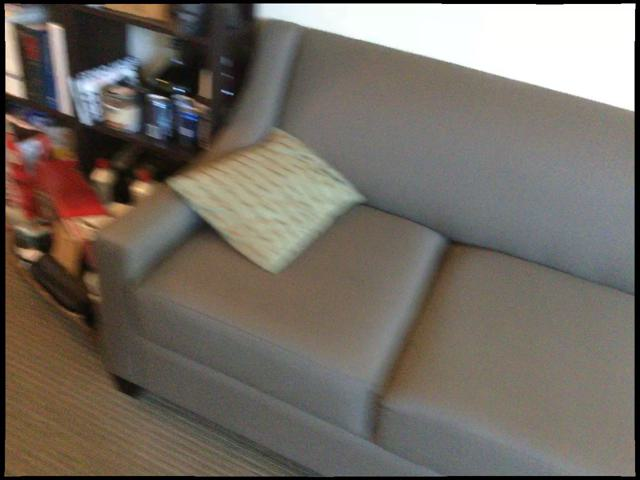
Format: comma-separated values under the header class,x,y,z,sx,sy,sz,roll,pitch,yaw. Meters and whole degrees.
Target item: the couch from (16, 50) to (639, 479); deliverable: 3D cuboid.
class,x,y,z,sx,sy,sz,roll,pitch,yaw
couch,0.609,0.210,1.480,2.256,0.891,1.000,12,35,17
